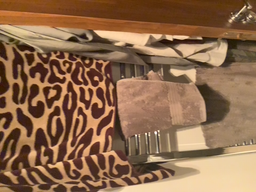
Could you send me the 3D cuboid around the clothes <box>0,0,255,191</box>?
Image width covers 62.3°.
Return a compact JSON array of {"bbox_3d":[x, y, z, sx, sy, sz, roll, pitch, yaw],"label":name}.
[{"bbox_3d":[0.150,0.010,0.770,0.280,1.930,0.560,150,118,-71],"label":"clothes"}]
